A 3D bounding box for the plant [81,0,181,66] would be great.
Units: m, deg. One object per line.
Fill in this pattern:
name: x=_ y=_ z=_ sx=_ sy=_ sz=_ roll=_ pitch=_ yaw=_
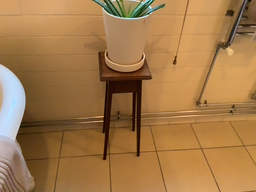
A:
plant: x=0.000 y=-0.310 z=0.830 sx=0.330 sy=0.320 sz=0.200 roll=0 pitch=41 yaw=-5
